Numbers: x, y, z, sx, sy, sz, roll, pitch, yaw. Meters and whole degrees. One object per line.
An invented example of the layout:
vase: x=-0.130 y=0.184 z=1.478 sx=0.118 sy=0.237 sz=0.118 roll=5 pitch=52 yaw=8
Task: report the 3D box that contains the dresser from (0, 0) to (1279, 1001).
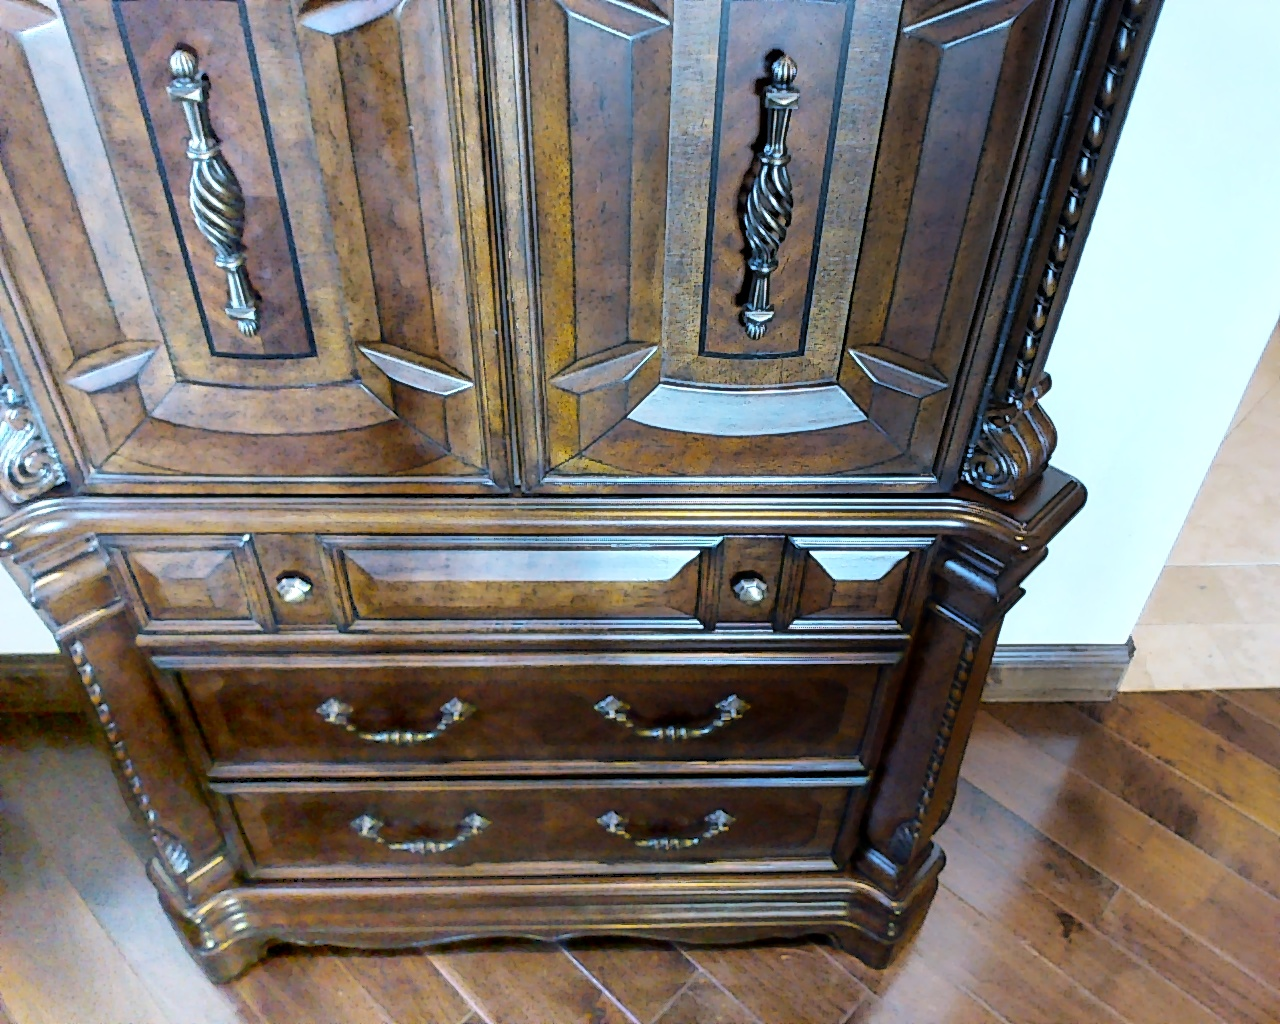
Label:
dresser: x=-0.100 y=-0.100 z=1.240 sx=1.170 sy=1.740 sz=0.550 roll=0 pitch=42 yaw=0
